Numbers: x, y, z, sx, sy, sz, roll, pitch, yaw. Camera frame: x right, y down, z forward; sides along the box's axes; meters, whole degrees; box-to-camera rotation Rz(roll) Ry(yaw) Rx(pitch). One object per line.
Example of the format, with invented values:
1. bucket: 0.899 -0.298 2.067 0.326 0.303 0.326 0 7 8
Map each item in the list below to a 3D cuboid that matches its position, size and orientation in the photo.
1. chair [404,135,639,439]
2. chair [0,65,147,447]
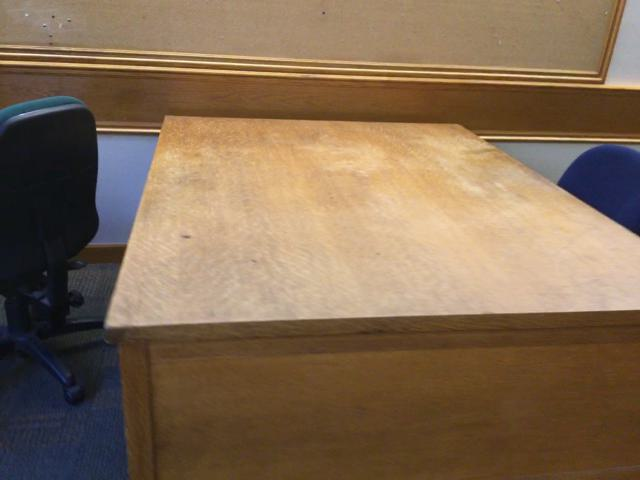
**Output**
1. chair: 0.720 0.120 2.020 0.640 0.860 0.550 -4 21 -12
2. chair: -1.020 0.000 1.860 0.610 0.960 0.570 17 28 25
